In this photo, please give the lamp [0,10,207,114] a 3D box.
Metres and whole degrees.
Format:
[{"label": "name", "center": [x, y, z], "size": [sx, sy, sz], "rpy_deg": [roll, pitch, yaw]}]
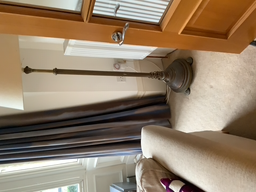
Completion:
[{"label": "lamp", "center": [-0.250, -0.180, 1.620], "size": [0.550, 1.650, 0.510], "rpy_deg": [-22, 71, 62]}]
